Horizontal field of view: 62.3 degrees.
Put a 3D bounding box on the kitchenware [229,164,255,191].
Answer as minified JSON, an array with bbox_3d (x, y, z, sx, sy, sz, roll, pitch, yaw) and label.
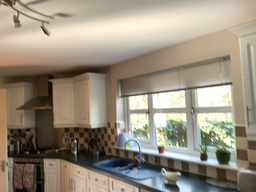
[{"bbox_3d":[0.940,0.630,1.550,0.180,0.170,0.300,0,-4,-31],"label":"kitchenware"}]

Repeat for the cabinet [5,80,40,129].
[{"bbox_3d":[-2.040,0.170,4.110,0.430,0.870,0.410,-3,-3,15],"label":"cabinet"}]
